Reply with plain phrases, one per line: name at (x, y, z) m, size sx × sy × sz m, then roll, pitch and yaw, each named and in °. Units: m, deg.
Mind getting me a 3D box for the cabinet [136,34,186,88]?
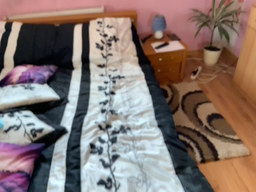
cabinet at (0.350, -0.410, 2.450) m, size 0.450 × 0.420 × 0.450 m, roll -6°, pitch 36°, yaw -5°
